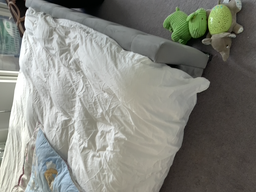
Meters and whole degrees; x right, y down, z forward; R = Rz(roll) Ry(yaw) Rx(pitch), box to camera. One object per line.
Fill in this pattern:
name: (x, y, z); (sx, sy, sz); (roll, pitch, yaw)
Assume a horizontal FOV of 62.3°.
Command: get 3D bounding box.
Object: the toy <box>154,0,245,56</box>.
toy: (0.360, -0.380, 1.140); (0.410, 0.120, 0.210); (30, 111, 41)
